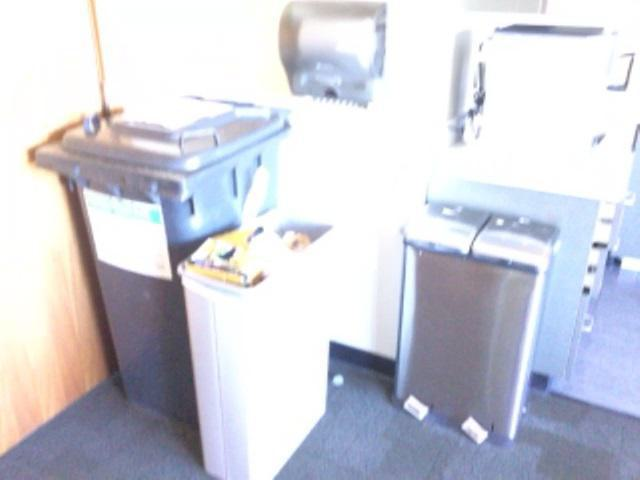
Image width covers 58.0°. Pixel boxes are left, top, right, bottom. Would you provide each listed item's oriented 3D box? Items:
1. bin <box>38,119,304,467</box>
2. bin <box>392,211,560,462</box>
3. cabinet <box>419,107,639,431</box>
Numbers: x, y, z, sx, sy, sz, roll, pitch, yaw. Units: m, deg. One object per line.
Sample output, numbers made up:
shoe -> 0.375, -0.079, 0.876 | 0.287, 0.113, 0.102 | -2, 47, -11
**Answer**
bin -> -0.470, 0.140, 2.050 | 0.510, 1.010, 0.550 | 11, 27, 34
bin -> 0.520, 0.310, 1.970 | 0.460, 0.730, 0.240 | 11, 27, 34
cabinet -> 1.020, -0.020, 2.470 | 0.640, 0.840, 1.320 | 11, 27, 34
